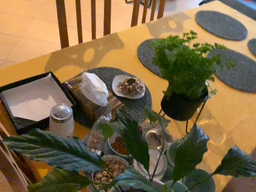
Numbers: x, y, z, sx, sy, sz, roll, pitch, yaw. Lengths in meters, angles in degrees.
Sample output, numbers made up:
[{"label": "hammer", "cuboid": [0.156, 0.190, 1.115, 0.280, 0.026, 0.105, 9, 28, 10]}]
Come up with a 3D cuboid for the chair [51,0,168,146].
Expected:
[{"label": "chair", "cuboid": [-0.180, -0.170, 1.390, 0.390, 0.980, 0.440, -31, 62, -34]}]
